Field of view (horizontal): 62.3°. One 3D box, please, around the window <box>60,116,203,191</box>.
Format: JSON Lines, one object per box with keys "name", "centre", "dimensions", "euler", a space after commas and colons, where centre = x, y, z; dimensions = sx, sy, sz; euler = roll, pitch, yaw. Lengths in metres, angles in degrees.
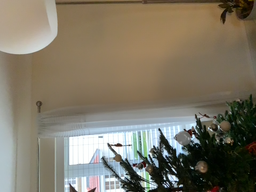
{"name": "window", "centre": [0.030, 0.630, 1.950], "dimensions": [0.040, 1.270, 0.810], "euler": [110, 156, -76]}
